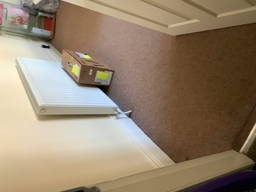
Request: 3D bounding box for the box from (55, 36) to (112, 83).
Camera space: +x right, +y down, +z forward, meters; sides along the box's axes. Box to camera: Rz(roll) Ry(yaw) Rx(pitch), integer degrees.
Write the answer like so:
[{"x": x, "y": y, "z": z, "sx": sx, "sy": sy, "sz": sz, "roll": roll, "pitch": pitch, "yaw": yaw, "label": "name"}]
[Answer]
[{"x": -0.520, "y": -0.420, "z": 2.370, "sx": 0.650, "sy": 0.360, "sz": 0.260, "roll": 41, "pitch": 119, "yaw": 45, "label": "box"}]
